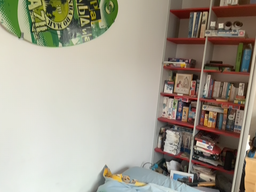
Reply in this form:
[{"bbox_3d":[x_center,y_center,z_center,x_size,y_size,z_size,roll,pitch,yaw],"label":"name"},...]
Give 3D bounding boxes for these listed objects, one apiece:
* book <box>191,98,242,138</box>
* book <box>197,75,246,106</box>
[{"bbox_3d":[1.080,0.240,2.590,0.490,0.350,0.340,10,9,32],"label":"book"},{"bbox_3d":[1.130,-0.080,2.580,0.490,0.310,0.170,10,9,30],"label":"book"}]
